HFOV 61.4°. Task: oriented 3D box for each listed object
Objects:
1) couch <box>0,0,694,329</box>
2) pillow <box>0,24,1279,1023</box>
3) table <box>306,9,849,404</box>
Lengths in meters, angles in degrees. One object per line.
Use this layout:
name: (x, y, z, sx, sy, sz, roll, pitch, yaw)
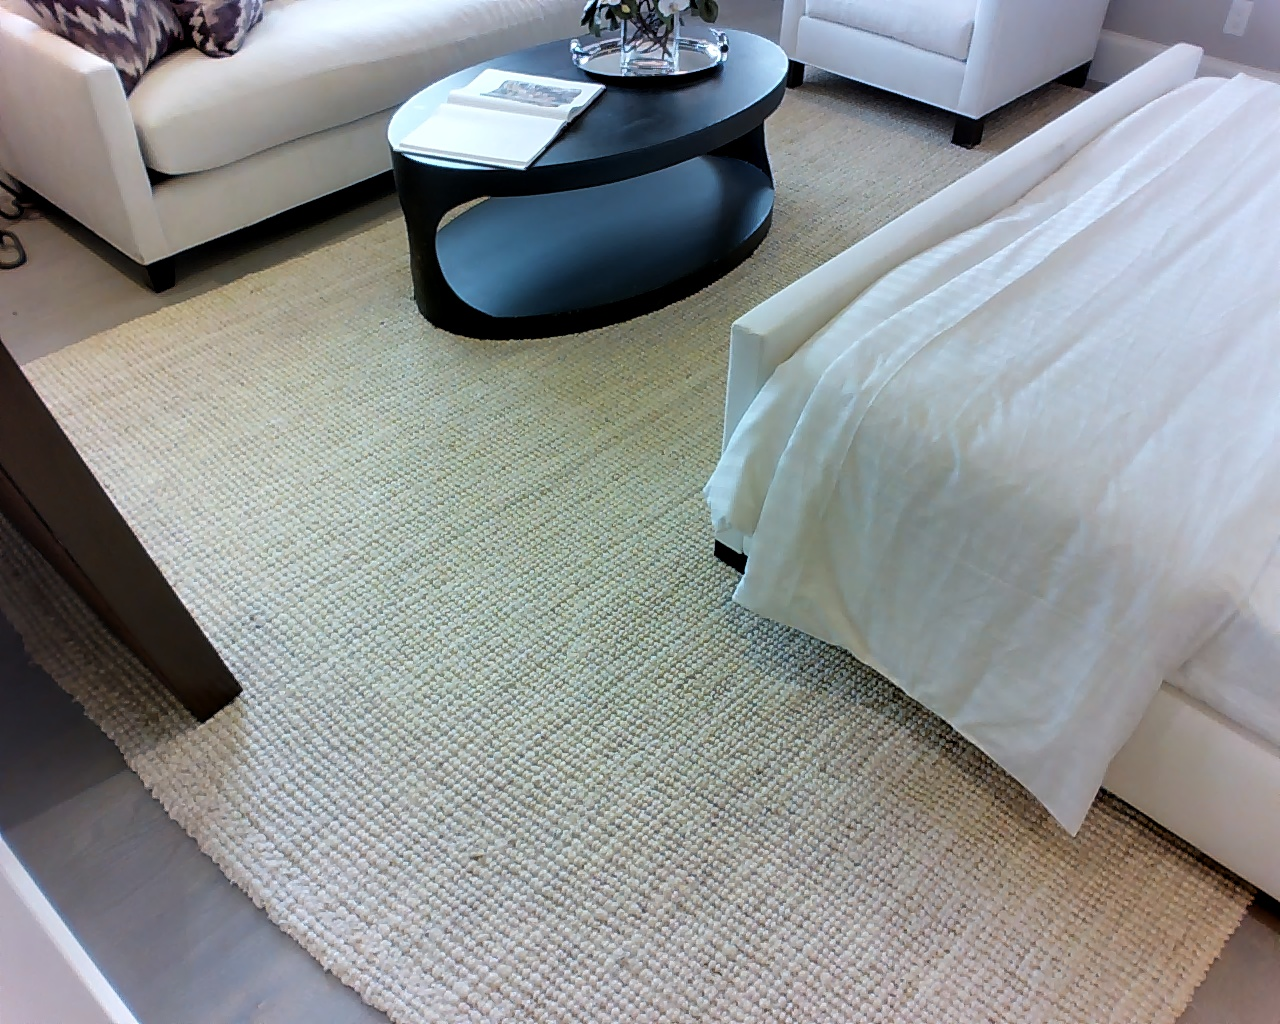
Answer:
couch: (-0.960, -1.530, 3.580, 1.090, 0.650, 2.240, 32, 50, 30)
pillow: (0.570, -0.500, 2.920, 2.900, 0.010, 4.100, 31, 50, 29)
table: (-0.130, -0.930, 3.030, 0.790, 0.480, 1.260, 31, 50, 29)
